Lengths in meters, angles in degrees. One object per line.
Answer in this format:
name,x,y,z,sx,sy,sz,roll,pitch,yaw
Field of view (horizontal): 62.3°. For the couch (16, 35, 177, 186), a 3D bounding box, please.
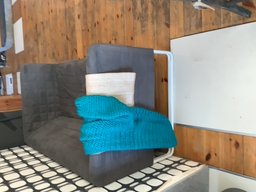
couch,-0.330,0.030,1.730,1.230,0.700,0.750,3,97,47
